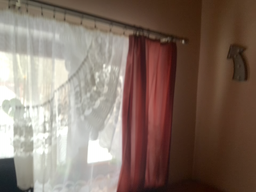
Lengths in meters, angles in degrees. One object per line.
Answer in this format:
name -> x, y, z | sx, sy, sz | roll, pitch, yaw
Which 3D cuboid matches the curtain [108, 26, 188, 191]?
curtain -> 0.180, 0.180, 1.800 | 0.610, 1.350, 0.230 | 2, 2, -37
